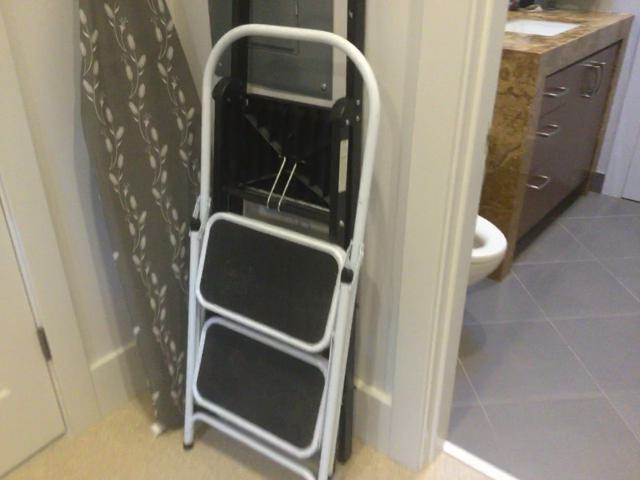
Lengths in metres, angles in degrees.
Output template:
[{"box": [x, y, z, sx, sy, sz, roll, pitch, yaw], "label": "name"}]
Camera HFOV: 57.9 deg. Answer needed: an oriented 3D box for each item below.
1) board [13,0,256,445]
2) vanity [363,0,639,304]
[{"box": [-0.410, -0.150, 1.440, 0.240, 1.360, 0.390, 21, 35, 32], "label": "board"}, {"box": [0.820, -0.550, 2.490, 0.660, 1.060, 1.200, 21, 35, 32], "label": "vanity"}]
